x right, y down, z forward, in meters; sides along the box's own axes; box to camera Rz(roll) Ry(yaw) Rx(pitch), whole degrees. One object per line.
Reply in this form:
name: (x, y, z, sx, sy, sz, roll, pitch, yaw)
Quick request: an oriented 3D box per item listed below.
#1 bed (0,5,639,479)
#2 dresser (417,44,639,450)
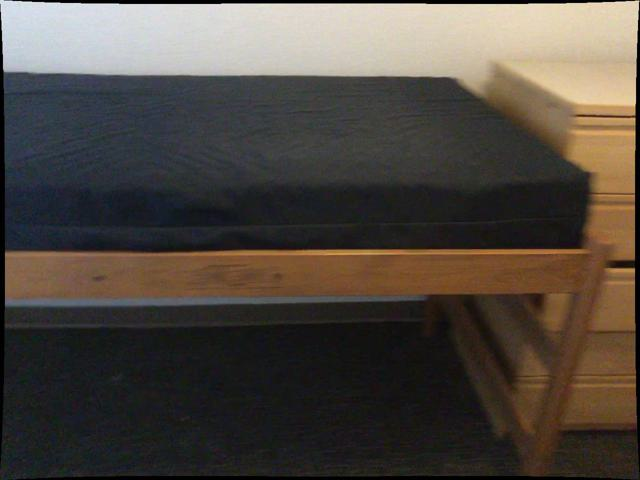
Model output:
bed: (-0.649, 0.110, 1.690, 2.586, 1.261, 1.151, -1, 33, -6)
dresser: (0.928, 0.010, 2.000, 0.879, 1.121, 0.820, 1, 31, -4)
